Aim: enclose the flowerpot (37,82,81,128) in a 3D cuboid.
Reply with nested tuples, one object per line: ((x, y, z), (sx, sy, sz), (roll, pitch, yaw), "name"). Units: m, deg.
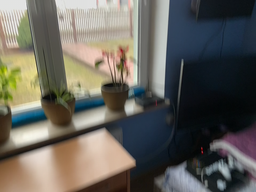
((-0.490, 0.050, 1.500), (0.220, 0.210, 0.240), (-14, 26, -28), "flowerpot")
